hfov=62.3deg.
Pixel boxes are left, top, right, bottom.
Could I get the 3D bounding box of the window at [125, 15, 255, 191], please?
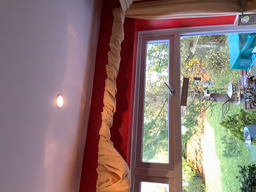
[{"bbox_3d":[0.500,0.990,1.330,0.080,1.090,3.540,61,-149,-67],"label":"window"}]
